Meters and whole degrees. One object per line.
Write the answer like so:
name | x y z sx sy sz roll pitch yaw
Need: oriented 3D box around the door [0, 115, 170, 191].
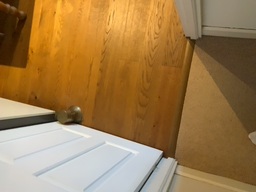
door | -0.440 0.240 0.460 0.780 1.920 0.050 14 94 19
